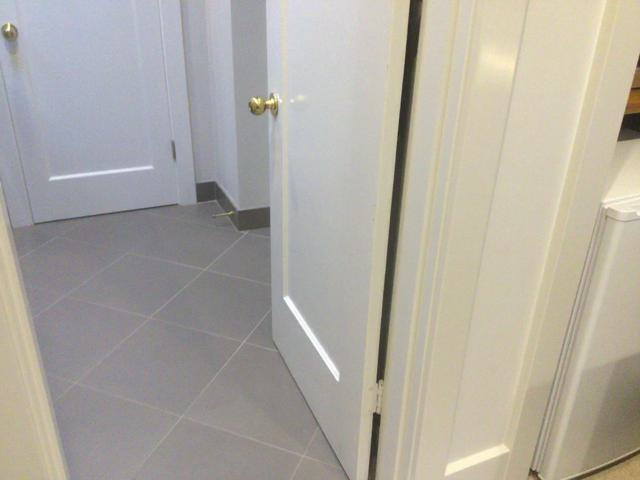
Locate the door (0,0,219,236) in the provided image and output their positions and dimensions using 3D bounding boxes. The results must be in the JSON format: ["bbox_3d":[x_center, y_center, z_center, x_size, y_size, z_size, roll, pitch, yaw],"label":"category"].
[{"bbox_3d":[-0.950,-1.050,2.340,1.000,2.090,0.070,-11,30,-24],"label":"door"}]

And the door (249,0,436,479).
[{"bbox_3d":[0.000,-0.390,1.330,0.080,1.990,0.700,-11,30,-24],"label":"door"}]
